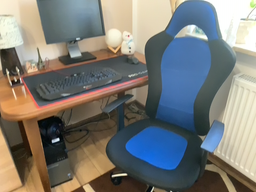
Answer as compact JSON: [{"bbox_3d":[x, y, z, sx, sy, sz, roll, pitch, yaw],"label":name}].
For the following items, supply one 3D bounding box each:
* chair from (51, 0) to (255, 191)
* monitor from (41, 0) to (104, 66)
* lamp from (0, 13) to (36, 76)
[{"bbox_3d":[0.180,0.130,1.180,0.650,1.140,0.710,18,34,29],"label":"chair"},{"bbox_3d":[-0.370,-0.460,1.530,0.410,0.410,0.030,-20,35,-31],"label":"monitor"},{"bbox_3d":[-0.760,-0.330,1.330,0.230,0.310,0.240,-19,34,-30],"label":"lamp"}]
